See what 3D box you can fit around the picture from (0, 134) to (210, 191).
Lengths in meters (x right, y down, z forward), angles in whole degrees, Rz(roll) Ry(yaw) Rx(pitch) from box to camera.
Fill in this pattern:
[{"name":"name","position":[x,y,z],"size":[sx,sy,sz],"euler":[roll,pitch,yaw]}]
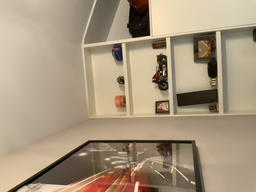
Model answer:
[{"name":"picture","position":[-0.050,0.290,0.830],"size":[1.010,0.660,0.040],"euler":[-13,-80,-75]}]
